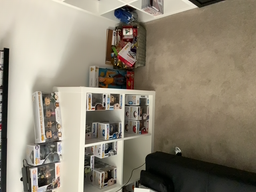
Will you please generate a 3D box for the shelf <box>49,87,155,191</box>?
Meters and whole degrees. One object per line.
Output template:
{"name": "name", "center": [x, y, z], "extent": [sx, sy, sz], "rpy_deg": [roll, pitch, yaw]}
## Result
{"name": "shelf", "center": [-0.190, 0.660, 1.740], "extent": [0.400, 0.750, 1.440], "rpy_deg": [3, 91, 44]}
